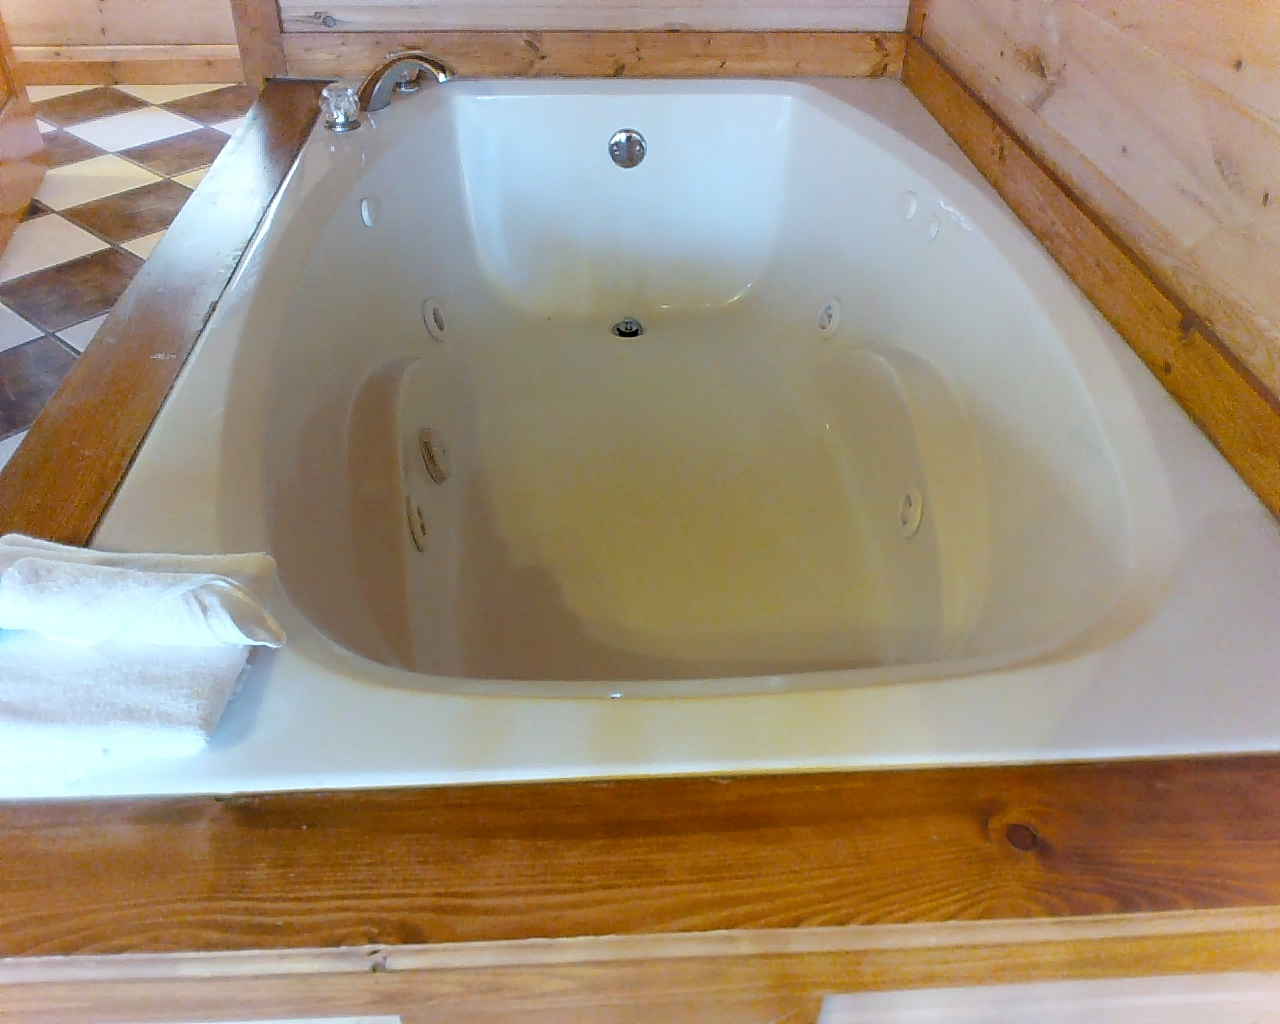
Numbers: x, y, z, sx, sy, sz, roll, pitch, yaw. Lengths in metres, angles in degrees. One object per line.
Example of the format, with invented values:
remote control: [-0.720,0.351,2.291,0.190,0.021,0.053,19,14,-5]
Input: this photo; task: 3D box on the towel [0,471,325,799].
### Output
towel: [-0.450,0.090,0.870,0.320,0.110,0.260,-1,38,-3]

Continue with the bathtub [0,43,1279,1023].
bathtub: [-0.050,-0.130,1.650,1.370,0.580,2.000,-1,39,-4]
